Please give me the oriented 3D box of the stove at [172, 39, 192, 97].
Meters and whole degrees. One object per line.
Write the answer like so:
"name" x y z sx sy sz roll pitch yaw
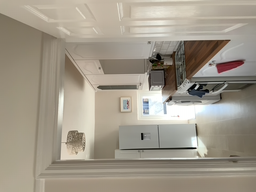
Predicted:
"stove" 0.730 -0.360 2.930 0.570 0.090 0.650 93 177 -80

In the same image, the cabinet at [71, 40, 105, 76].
"cabinet" -0.530 -0.510 2.960 0.580 0.360 0.320 93 177 -80

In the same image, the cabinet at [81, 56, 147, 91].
"cabinet" -0.220 -0.360 3.770 1.060 1.000 0.350 93 177 -80
